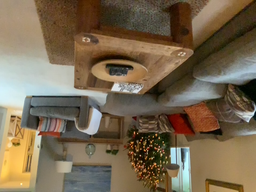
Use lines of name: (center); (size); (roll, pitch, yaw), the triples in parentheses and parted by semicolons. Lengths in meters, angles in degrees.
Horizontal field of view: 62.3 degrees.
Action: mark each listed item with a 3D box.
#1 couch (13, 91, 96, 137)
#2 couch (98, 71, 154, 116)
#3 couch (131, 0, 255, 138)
couch: (-1.420, 0.420, 4.440); (1.270, 0.780, 1.070); (1, 166, 3)
couch: (-0.090, 0.020, 3.400); (0.610, 0.420, 1.130); (5, 165, -15)
couch: (1.070, 0.030, 2.600); (1.230, 0.770, 3.160); (5, 165, -15)
